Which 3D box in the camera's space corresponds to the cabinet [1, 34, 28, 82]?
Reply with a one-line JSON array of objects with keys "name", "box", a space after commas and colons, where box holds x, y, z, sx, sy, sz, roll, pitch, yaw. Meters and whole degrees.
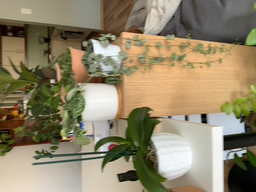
[{"name": "cabinet", "box": [-2.760, -0.890, 5.180, 0.320, 0.560, 1.080, -178, 88, -65]}]
